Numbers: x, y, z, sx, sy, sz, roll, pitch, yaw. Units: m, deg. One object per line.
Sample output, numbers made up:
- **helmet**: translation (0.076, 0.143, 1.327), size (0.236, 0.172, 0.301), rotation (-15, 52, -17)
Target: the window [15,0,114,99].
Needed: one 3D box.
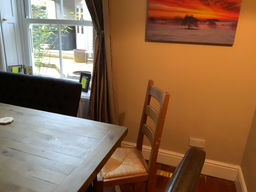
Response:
- **window**: translation (-0.840, -0.960, 2.730), size (1.330, 1.790, 0.260), rotation (10, 20, 22)

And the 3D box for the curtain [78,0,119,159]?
- **curtain**: translation (-0.300, -0.460, 2.190), size (0.340, 2.370, 0.200), rotation (9, 19, 18)
